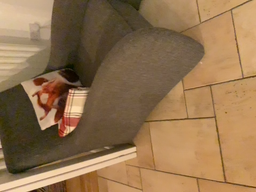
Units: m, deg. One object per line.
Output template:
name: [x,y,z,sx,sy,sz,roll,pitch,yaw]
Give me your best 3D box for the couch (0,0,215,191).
couch: [-0.270,-0.140,1.300,0.770,0.830,1.010,53,131,33]
